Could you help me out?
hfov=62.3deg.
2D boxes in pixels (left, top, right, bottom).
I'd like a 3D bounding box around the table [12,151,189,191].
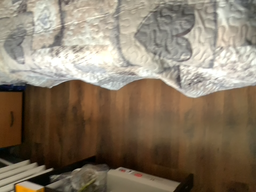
[{"bbox_3d":[-0.110,0.500,0.980,0.640,0.490,0.280,1,91,31],"label":"table"}]
